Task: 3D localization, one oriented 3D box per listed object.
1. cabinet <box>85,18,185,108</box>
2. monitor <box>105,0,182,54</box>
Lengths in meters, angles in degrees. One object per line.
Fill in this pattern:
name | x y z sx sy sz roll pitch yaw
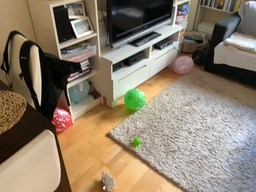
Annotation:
cabinet | 0.130 -0.460 2.490 0.440 0.530 1.220 28 45 29
monitor | 0.210 -0.880 2.090 0.080 0.630 1.090 30 45 32
